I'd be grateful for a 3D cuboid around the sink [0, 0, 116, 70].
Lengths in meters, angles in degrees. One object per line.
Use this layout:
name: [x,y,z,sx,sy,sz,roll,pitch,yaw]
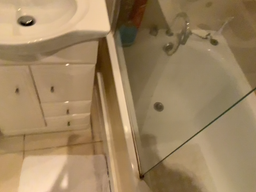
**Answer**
sink: [-0.370,-0.310,0.740,0.580,0.150,0.430,-3,60,-16]
